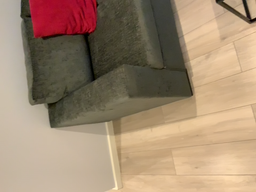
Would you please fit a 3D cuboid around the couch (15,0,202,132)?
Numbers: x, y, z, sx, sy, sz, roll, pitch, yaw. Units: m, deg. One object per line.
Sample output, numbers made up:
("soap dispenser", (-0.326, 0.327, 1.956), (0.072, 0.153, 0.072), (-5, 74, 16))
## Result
("couch", (-0.280, -0.690, 1.650), (1.010, 0.800, 1.720), (-20, 76, 45))
